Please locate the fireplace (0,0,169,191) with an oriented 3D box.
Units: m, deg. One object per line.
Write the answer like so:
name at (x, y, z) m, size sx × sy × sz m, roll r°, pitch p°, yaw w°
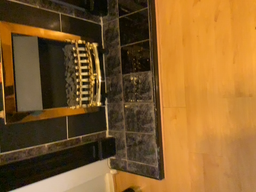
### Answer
fireplace at (-0.340, -0.110, 1.130) m, size 0.520 × 1.150 × 1.420 m, roll -3°, pitch 91°, yaw 40°
